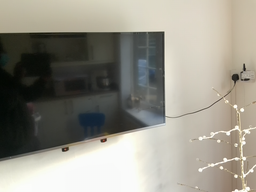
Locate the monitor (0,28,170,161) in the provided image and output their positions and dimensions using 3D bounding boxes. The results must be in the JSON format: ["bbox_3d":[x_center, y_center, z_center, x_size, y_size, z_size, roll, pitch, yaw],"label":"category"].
[{"bbox_3d":[-0.210,-0.030,1.000,0.950,0.520,0.060,-6,12,-26],"label":"monitor"}]
